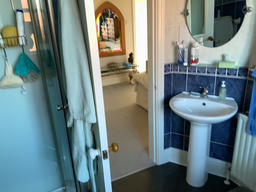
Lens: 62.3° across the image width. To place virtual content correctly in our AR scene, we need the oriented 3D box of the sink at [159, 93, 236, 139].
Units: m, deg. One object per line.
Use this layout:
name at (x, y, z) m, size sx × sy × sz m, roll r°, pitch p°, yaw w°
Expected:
sink at (0.610, 0.150, 1.870) m, size 0.570 × 0.170 × 0.370 m, roll 9°, pitch 23°, yaw 27°

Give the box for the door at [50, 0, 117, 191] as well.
door at (-0.280, 0.050, 1.310) m, size 0.090 × 1.930 × 0.750 m, roll -12°, pitch 23°, yaw -24°
